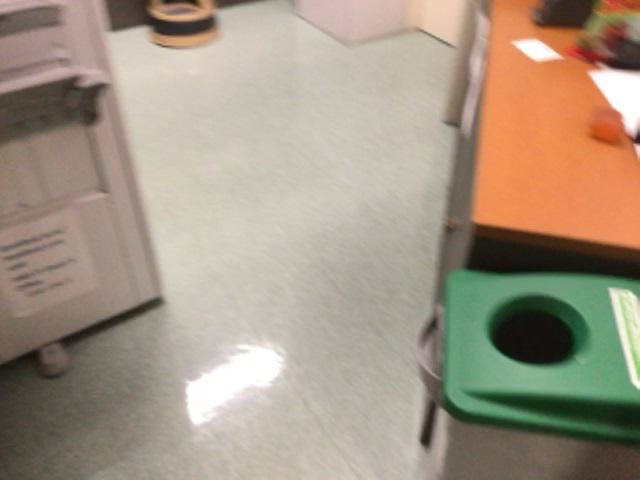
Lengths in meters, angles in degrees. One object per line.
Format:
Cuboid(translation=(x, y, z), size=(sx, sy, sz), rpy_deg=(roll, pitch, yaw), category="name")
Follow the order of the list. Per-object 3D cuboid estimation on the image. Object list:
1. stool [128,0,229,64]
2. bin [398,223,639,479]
Cuboid(translation=(-0.760, -1.220, 3.070), size=(0.380, 0.360, 0.350), rpy_deg=(-26, 48, -24), category="stool")
Cuboid(translation=(0.410, 0.380, 1.010), size=(0.520, 0.700, 0.350), rpy_deg=(7, 43, 10), category="bin")
